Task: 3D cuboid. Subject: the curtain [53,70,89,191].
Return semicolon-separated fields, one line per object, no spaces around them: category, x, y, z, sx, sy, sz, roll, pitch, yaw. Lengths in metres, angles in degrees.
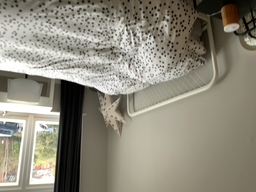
curtain;-0.900;0.820;3.410;0.440;2.510;0.210;8;161;-31

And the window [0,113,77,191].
window;-1.840;1.140;3.050;2.160;1.770;0.110;8;161;-31
